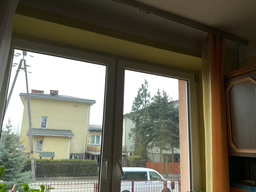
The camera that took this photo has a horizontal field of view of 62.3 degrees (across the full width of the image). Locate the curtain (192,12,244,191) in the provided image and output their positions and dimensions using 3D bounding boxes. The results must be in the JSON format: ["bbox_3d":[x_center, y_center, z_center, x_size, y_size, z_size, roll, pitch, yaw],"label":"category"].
[{"bbox_3d":[0.760,0.390,1.800,0.280,2.260,0.210,7,-13,-23],"label":"curtain"}]
